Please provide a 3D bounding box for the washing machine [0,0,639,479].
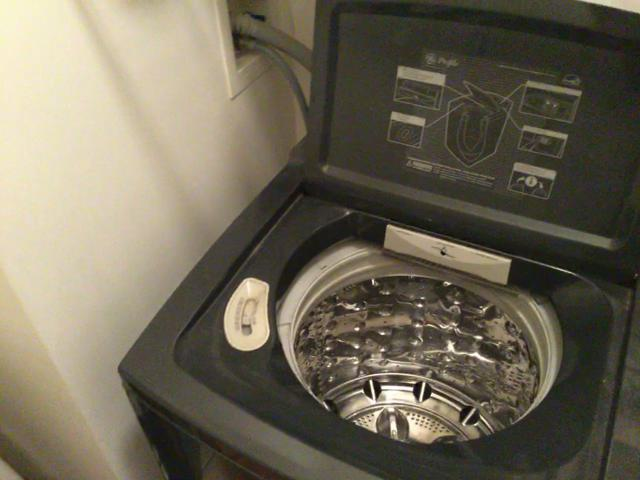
[{"bbox_3d":[0.130,0.200,1.070,0.680,1.340,0.890,16,45,20],"label":"washing machine"}]
